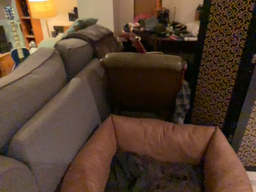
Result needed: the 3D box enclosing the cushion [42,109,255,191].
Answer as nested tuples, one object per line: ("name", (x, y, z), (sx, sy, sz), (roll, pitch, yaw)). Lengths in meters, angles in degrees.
("cushion", (0.170, 0.560, 1.280), (1.130, 0.330, 1.020), (6, 31, 11))
